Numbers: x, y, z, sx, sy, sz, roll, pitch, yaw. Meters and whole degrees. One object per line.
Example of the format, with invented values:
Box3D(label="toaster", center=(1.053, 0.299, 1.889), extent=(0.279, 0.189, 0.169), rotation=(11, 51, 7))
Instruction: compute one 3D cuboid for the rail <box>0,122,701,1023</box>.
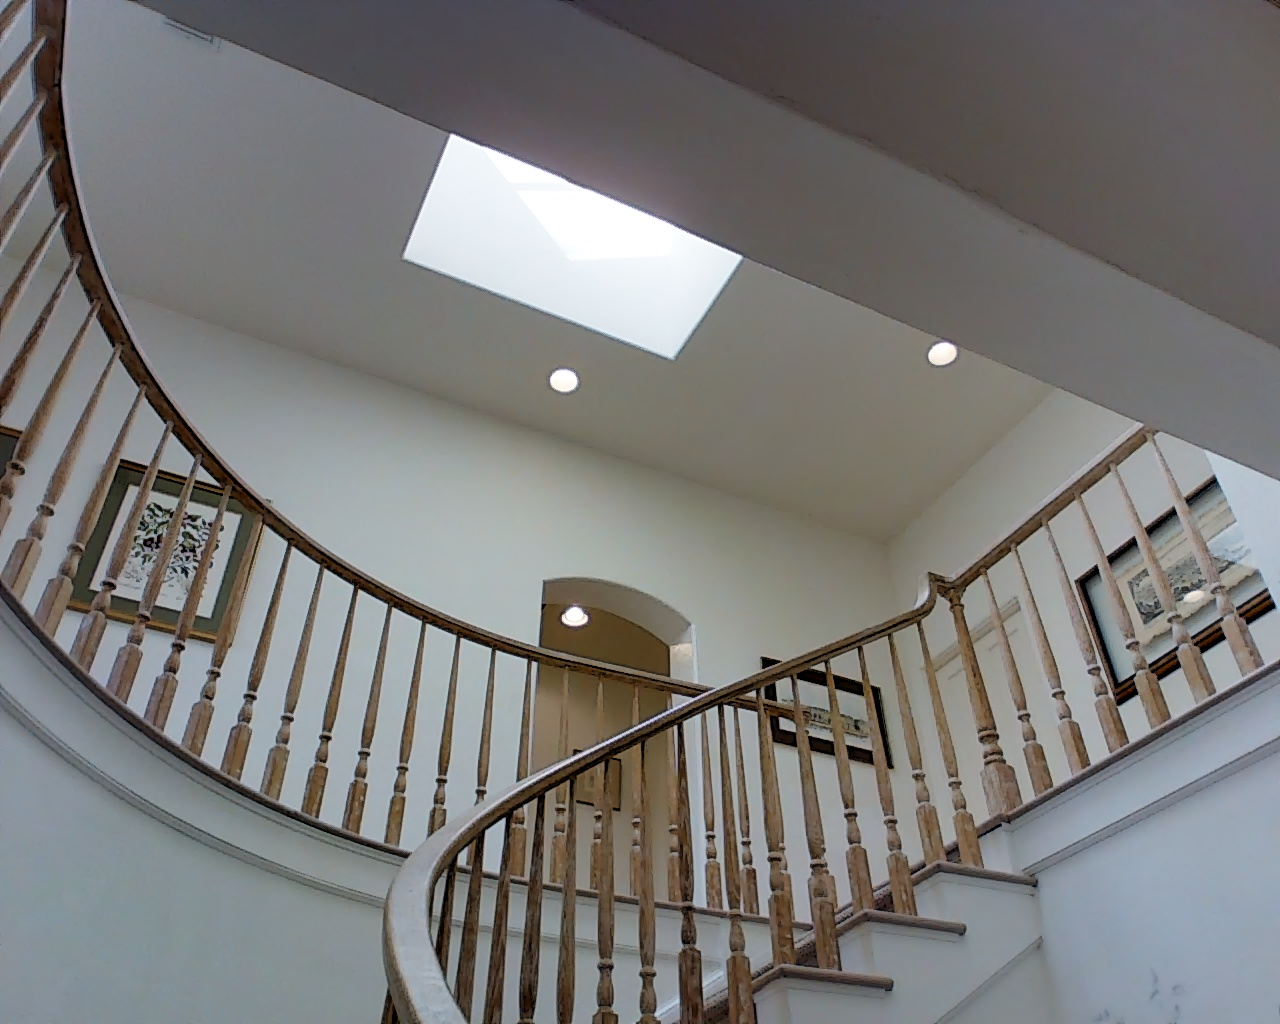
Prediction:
Box3D(label="rail", center=(-1.520, 0.290, 4.700), extent=(2.969, 1.310, 3.231), rotation=(14, 49, -23))

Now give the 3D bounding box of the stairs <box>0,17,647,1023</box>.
Box3D(label="stairs", center=(-1.989, 0.470, 4.770), extent=(2.839, 2.290, 4.541), rotation=(23, 46, -15))

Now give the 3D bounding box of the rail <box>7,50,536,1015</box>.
Box3D(label="rail", center=(-1.490, 0.170, 4.470), extent=(1.030, 2.670, 2.861), rotation=(17, 47, -20))
